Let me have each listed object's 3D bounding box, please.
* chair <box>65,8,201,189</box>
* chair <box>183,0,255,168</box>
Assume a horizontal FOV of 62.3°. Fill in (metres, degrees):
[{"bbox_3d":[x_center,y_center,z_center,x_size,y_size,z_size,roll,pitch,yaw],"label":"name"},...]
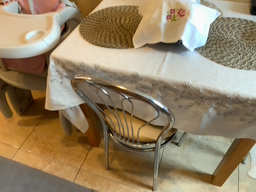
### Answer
[{"bbox_3d":[0.050,0.070,1.070,0.390,0.830,0.380,14,50,14],"label":"chair"},{"bbox_3d":[0.600,-0.030,1.150,0.380,0.830,0.400,16,50,15],"label":"chair"}]
